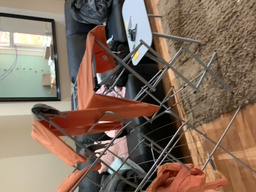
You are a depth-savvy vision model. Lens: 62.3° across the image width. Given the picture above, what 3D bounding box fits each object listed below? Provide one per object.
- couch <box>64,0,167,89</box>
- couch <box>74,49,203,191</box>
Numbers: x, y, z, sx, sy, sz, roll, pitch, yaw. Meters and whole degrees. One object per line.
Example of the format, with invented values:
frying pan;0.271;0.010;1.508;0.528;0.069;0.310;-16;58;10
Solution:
couch;-0.280;-0.950;2.830;0.940;0.900;1.440;131;134;-55
couch;-0.020;0.360;2.310;0.830;0.870;1.430;131;134;-55
